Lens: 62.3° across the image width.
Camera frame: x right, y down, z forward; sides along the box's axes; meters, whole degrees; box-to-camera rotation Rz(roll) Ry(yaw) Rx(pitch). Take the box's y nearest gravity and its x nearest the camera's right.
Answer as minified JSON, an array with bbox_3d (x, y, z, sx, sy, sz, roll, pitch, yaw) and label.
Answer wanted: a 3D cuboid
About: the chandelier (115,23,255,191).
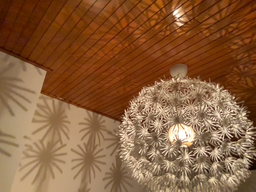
[{"bbox_3d":[0.370,0.150,1.630,0.770,1.080,0.810,3,153,4],"label":"chandelier"}]
